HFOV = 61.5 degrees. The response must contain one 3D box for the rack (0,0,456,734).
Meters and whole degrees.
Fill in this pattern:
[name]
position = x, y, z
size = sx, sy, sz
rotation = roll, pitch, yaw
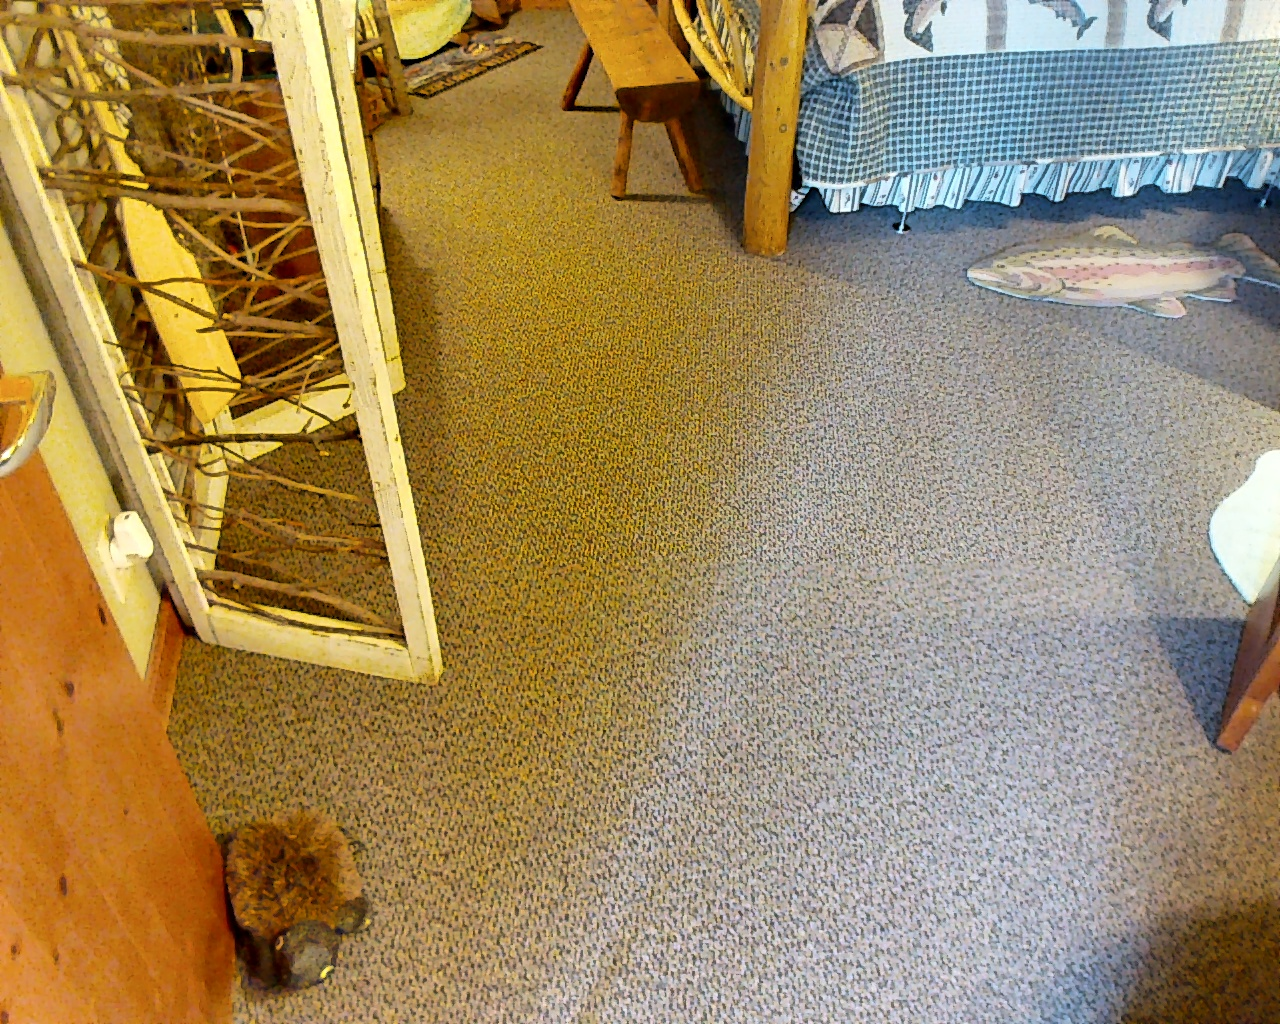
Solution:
[rack]
position = -0.710, -0.700, 1.770
size = 0.540, 1.860, 1.130
rotation = -7, 42, -8
